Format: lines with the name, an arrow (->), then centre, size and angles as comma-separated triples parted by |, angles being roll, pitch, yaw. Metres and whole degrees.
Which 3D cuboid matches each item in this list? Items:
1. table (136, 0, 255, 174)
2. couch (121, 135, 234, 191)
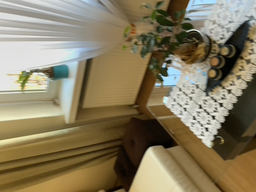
table -> 0.630, -0.270, 1.270 | 0.760, 0.500, 1.160 | 51, 133, 40
couch -> 0.380, 0.900, 1.800 | 0.750, 0.440, 0.750 | 49, 131, 42
